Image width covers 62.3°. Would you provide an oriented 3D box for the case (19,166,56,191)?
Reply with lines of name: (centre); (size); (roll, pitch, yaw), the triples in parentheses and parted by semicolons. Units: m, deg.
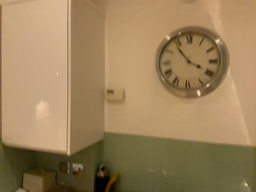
case: (-0.660, 0.620, 1.550); (0.180, 0.140, 0.170); (2, 2, 19)
